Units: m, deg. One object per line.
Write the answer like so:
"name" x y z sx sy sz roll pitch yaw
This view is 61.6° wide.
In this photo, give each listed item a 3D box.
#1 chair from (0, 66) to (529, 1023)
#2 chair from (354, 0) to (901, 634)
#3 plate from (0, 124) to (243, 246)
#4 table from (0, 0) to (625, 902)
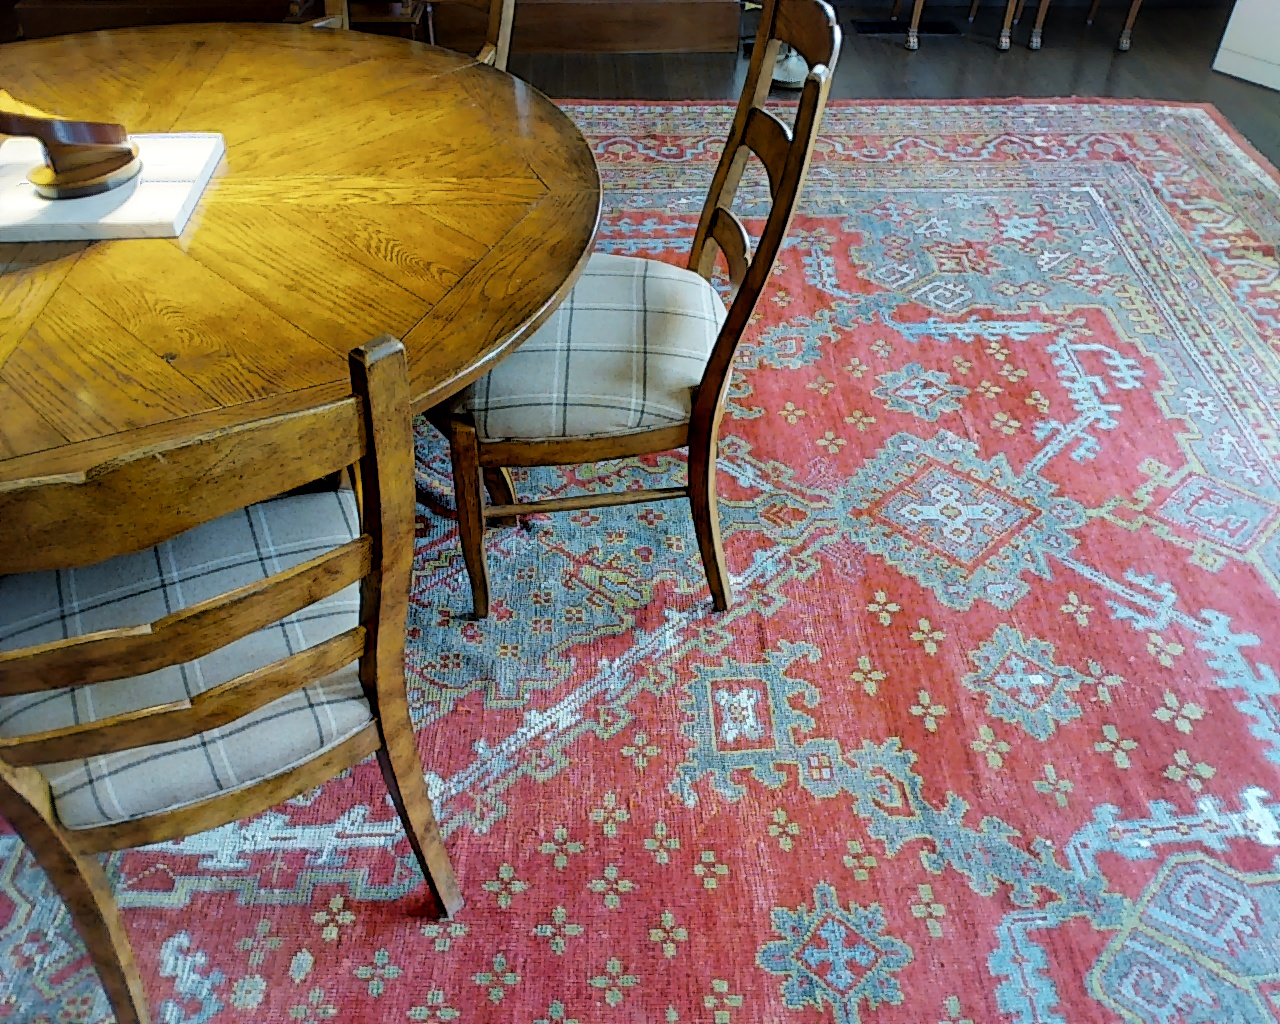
"chair" -0.570 0.130 1.330 0.610 1.040 0.630 -18 46 -19
"chair" -0.030 -0.360 1.900 0.680 1.020 0.600 -2 42 -2
"plate" -0.870 -0.530 1.720 0.380 0.030 0.360 -2 42 -3
"table" -0.880 -0.270 1.970 1.640 0.730 1.700 -2 42 -2
